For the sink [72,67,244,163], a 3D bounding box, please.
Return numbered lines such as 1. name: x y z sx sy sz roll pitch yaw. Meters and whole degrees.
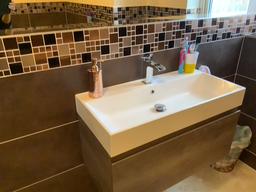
1. sink: 0.170 0.030 1.100 0.800 0.130 0.380 -15 30 -28
